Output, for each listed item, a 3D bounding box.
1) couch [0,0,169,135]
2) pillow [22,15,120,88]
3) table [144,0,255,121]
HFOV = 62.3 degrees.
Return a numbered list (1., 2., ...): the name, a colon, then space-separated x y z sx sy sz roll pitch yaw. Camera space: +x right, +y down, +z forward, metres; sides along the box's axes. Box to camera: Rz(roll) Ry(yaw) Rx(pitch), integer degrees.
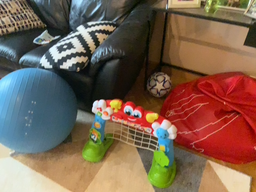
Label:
1. couch: -0.600 -0.600 1.860 1.600 0.910 0.980 20 43 21
2. pillow: -0.380 -0.370 1.600 0.360 0.230 0.620 23 44 23
3. table: 0.690 -0.300 1.710 1.050 0.700 0.280 20 43 21
